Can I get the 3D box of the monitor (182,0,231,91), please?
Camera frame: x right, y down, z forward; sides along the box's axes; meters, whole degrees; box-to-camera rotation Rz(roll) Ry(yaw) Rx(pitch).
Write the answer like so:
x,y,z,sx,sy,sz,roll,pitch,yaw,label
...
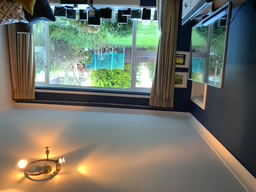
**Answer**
x,y,z,sx,sy,sz,roll,pitch,yaw,label
0.730,-0.470,2.160,0.050,0.700,1.090,3,-171,0,monitor
